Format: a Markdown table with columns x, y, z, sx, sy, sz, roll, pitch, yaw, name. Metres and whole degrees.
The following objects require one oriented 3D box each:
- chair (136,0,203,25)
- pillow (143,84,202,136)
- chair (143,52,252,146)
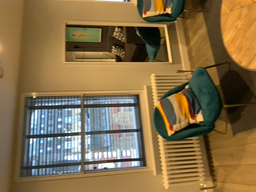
| x | y | z | sx | sy | sz | roll | pitch | yaw | name |
| --- | --- | --- | --- | --- | --- | --- | --- | --- | --- |
| 0.520 | -1.380 | 2.860 | 0.710 | 0.680 | 0.640 | -153 | 62 | -78 | chair |
| 0.490 | 0.130 | 2.310 | 0.390 | 0.510 | 0.170 | -30 | -31 | -52 | pillow |
| 0.640 | 0.030 | 2.280 | 0.720 | 0.740 | 0.670 | 99 | 165 | -47 | chair |
